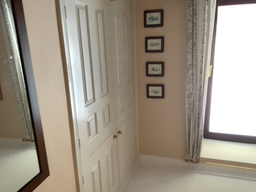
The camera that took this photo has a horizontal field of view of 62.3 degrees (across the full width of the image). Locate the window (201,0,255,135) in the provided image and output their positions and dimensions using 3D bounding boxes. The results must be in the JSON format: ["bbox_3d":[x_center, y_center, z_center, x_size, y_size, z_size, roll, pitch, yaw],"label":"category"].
[{"bbox_3d":[1.380,-0.310,2.680,0.770,1.620,0.210,2,-164,15],"label":"window"}]

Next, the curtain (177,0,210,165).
[{"bbox_3d":[0.660,-0.270,2.160,0.240,2.120,0.130,3,-163,17],"label":"curtain"}]
